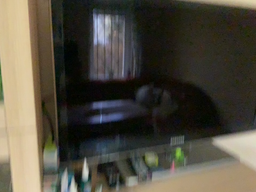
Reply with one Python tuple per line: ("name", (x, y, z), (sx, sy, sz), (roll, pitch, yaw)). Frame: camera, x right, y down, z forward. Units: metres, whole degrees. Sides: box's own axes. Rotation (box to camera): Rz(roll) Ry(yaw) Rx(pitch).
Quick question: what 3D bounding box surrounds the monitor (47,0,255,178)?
("monitor", (0.190, -0.040, 0.880), (0.950, 0.610, 0.040), (-4, 13, -22))
